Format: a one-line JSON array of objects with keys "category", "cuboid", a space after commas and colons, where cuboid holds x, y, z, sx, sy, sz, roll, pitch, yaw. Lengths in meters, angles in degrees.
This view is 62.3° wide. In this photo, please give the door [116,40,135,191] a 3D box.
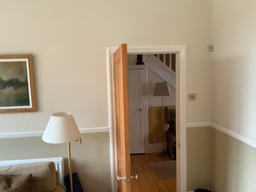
[{"category": "door", "cuboid": [-0.030, 0.530, 2.270, 0.100, 2.080, 0.830, -2, 6, -5]}]

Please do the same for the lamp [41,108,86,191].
[{"category": "lamp", "cuboid": [-0.620, 0.850, 2.170, 0.330, 1.400, 0.370, -2, 6, -7]}]
